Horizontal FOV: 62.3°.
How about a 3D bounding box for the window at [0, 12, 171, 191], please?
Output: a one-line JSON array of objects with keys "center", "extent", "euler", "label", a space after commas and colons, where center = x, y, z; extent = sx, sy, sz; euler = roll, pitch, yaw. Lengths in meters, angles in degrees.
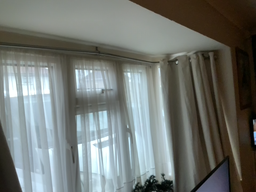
[{"center": [-0.150, 0.240, 1.650], "extent": [0.140, 1.360, 1.600], "euler": [-5, 0, 38], "label": "window"}]
